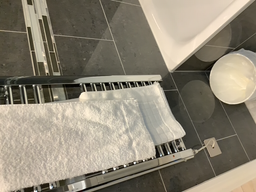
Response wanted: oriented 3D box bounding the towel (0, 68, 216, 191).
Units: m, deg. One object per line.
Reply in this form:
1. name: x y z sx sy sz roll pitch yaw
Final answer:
1. towel: -0.060 0.090 0.740 0.110 0.820 0.360 -44 58 49
